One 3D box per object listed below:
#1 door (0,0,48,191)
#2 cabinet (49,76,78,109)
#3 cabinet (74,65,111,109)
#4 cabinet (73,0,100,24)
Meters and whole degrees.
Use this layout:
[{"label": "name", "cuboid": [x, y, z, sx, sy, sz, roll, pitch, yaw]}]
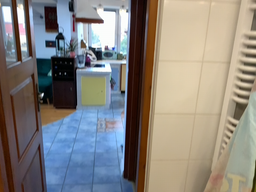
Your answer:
[{"label": "door", "cuboid": [-0.700, 0.220, 1.370, 0.080, 1.870, 0.840, 0, 17, -9]}, {"label": "cabinet", "cuboid": [-1.390, -0.090, 4.630, 0.500, 0.610, 0.500, 0, 17, -7]}, {"label": "cabinet", "cuboid": [-0.770, -0.220, 4.730, 0.740, 0.850, 0.660, 0, 17, -7]}, {"label": "cabinet", "cuboid": [-0.870, -2.040, 4.590, 0.530, 0.850, 0.750, 0, 17, -7]}]
